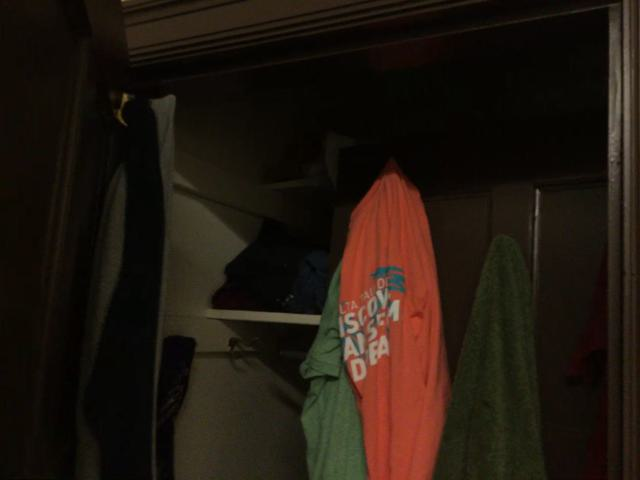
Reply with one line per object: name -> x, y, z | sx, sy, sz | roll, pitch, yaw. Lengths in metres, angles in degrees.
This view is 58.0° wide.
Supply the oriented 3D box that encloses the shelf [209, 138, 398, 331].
shelf -> -0.010, 0.020, 1.510 | 0.270, 0.410, 0.510 | 0, -8, 25
